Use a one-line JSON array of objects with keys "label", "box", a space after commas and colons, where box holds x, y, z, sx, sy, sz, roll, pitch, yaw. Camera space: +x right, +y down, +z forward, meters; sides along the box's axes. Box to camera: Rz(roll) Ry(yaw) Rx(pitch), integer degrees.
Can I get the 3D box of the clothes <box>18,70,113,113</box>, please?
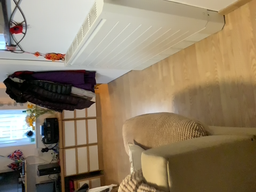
[{"label": "clothes", "box": [-0.820, -0.040, 2.690, 0.790, 1.010, 0.430, -6, 86, 63]}]
